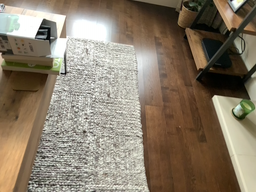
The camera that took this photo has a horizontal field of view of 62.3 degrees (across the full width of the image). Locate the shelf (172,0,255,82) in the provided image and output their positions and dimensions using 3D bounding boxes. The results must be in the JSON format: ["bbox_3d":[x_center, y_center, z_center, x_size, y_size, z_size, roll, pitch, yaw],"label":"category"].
[{"bbox_3d":[0.860,-0.850,1.430,0.500,1.510,0.640,6,52,-11],"label":"shelf"}]
